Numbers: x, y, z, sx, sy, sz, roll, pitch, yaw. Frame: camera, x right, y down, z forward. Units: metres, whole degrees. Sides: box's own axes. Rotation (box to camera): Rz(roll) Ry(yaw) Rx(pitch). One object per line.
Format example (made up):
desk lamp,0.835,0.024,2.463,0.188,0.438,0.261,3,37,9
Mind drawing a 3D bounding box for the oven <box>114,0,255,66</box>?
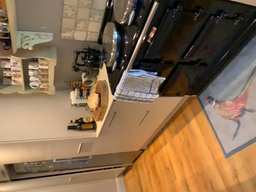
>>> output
oven,0.440,-0.690,1.640,0.470,0.900,0.740,117,146,-49
